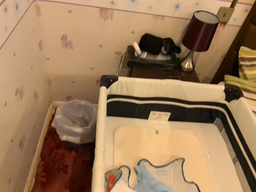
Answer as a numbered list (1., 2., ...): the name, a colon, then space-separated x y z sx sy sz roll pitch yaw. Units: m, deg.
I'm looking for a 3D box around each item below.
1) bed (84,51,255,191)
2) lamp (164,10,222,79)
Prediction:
1. bed: 0.180 0.460 0.960 0.740 0.740 1.120 3 46 -10
2. lamp: 0.370 -0.300 1.280 0.190 0.350 0.170 5 46 -8
